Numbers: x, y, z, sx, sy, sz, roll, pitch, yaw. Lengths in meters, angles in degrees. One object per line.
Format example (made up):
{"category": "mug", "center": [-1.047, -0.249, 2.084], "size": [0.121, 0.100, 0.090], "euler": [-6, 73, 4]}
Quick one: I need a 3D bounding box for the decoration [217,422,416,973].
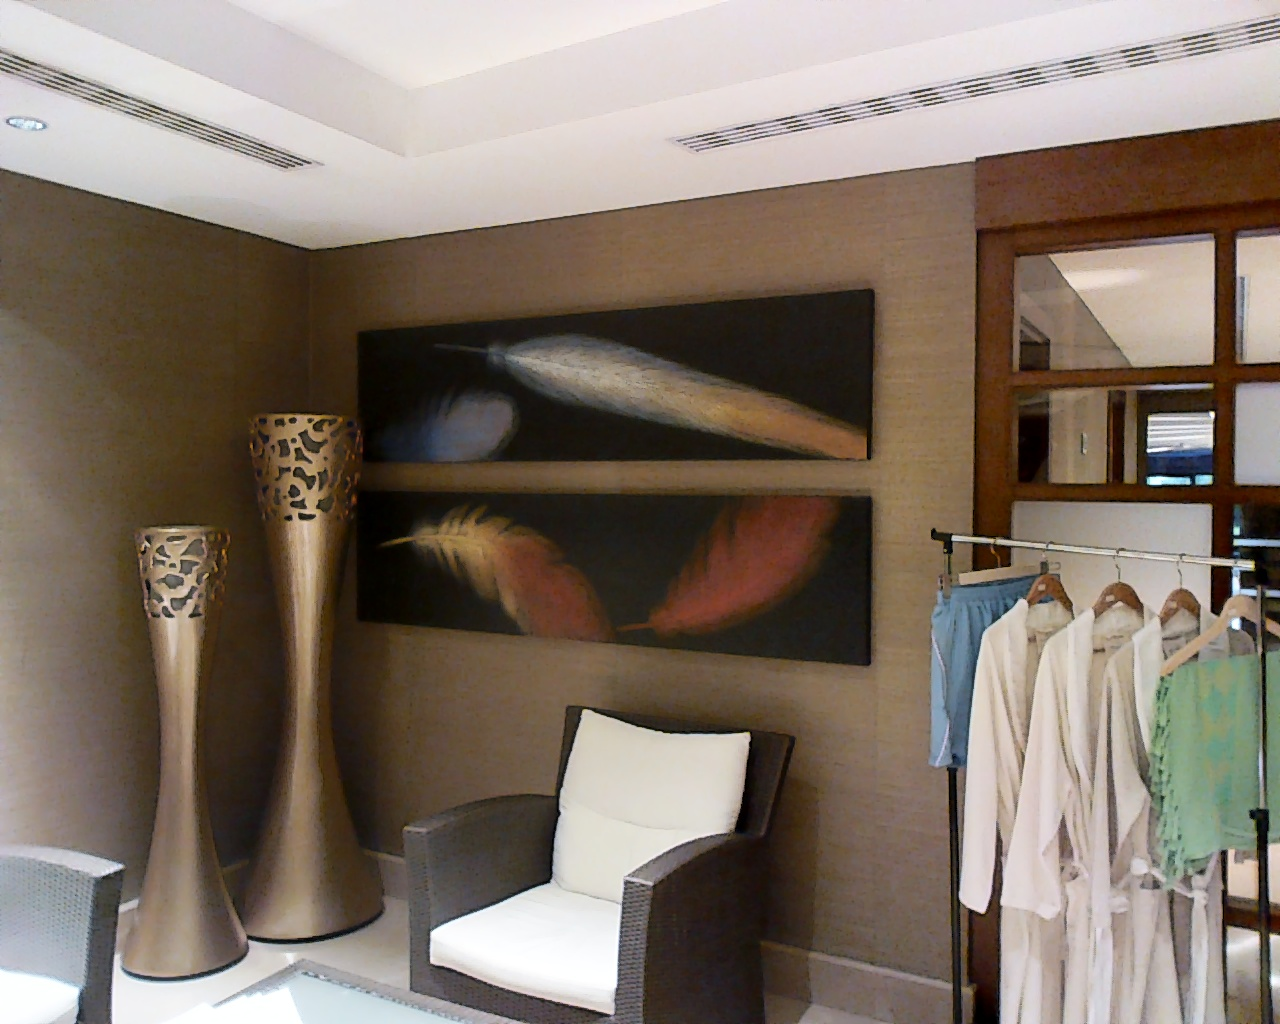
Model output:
{"category": "decoration", "center": [-1.170, 0.610, 3.900], "size": [0.500, 1.820, 0.490], "euler": [1, 1, 39]}

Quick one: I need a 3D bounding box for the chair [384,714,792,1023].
{"category": "chair", "center": [-0.110, 1.130, 3.060], "size": [0.820, 0.880, 0.890], "euler": [1, 1, 27]}

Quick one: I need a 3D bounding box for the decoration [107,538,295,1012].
{"category": "decoration", "center": [-1.450, 0.810, 3.570], "size": [0.400, 1.430, 0.420], "euler": [1, 1, 33]}
